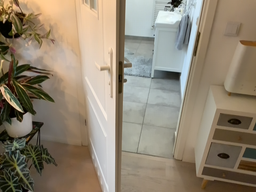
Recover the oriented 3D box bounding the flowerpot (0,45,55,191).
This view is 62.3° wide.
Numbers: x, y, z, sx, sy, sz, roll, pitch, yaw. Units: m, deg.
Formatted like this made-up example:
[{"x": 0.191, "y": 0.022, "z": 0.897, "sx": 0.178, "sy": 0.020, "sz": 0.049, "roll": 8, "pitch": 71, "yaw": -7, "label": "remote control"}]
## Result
[{"x": -0.970, "y": 0.320, "z": 1.570, "sx": 0.650, "sy": 1.130, "sz": 0.820, "roll": -9, "pitch": 33, "yaw": -19, "label": "flowerpot"}]
